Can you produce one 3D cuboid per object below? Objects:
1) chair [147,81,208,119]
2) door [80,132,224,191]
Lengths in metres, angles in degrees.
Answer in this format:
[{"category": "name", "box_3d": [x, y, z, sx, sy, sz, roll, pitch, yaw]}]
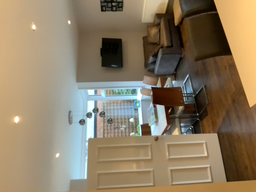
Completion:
[{"category": "chair", "box_3d": [0.890, 0.090, 4.020, 0.570, 0.950, 0.510, 97, 170, -66]}, {"category": "door", "box_3d": [0.350, 1.040, 3.280, 0.130, 2.110, 0.870, 99, 169, -69]}]
